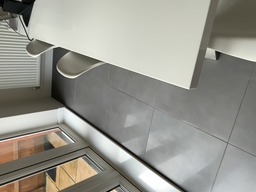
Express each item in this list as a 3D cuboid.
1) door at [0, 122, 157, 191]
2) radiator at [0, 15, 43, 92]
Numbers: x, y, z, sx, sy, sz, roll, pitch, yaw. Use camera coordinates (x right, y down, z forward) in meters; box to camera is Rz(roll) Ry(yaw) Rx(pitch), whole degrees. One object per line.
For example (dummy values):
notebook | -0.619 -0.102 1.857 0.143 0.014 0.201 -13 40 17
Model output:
door | -0.820 0.870 1.380 2.240 2.160 0.120 24 113 41
radiator | -1.330 -0.480 2.490 0.130 0.600 0.840 24 113 41
